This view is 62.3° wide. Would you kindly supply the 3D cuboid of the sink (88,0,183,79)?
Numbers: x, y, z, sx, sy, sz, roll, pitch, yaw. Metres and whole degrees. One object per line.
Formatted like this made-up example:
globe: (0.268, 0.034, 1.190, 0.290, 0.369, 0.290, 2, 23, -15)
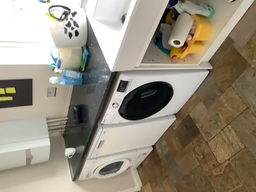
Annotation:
sink: (0.000, -0.530, 1.330, 0.530, 0.250, 0.650, 66, 146, 33)
